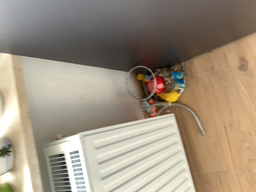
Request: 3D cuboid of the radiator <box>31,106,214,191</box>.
[{"bbox_3d":[0.080,0.390,0.850,0.280,0.730,0.620,-18,80,33],"label":"radiator"}]
